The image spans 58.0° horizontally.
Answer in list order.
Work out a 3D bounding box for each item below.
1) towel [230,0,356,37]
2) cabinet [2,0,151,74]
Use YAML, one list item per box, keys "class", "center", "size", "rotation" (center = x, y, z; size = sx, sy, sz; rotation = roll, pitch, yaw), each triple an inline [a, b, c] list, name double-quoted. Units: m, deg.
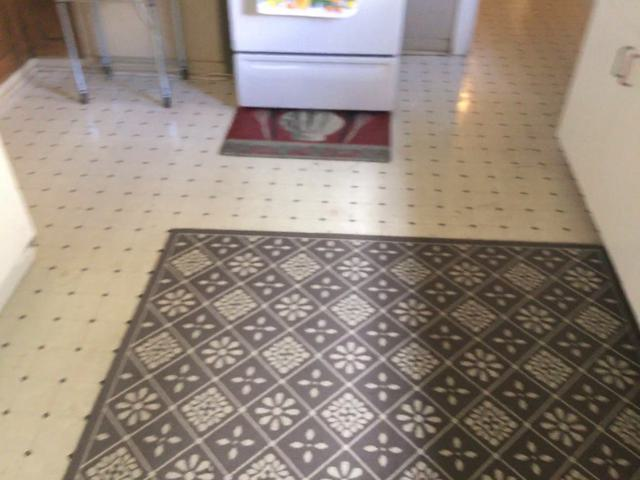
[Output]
- class: "towel"
  center: [-0.110, -1.060, 2.380]
  size: [0.520, 0.400, 0.080]
  rotation: [3, 40, 1]
- class: "cabinet"
  center: [-1.260, -1.280, 2.930]
  size: [0.620, 0.790, 0.240]
  rotation: [3, 40, 1]
